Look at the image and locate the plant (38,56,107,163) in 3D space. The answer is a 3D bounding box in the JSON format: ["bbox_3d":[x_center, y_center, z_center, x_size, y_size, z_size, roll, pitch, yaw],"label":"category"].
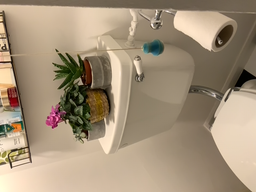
[{"bbox_3d":[-0.200,0.050,0.750,0.160,0.170,0.330,56,145,43],"label":"plant"}]
